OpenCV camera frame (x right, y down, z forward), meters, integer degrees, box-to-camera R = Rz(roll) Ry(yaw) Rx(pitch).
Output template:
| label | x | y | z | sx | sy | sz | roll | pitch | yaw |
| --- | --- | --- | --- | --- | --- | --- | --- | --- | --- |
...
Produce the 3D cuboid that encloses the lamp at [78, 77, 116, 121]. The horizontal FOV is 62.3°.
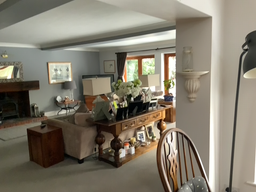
| label | x | y | z | sx | sy | sz | roll | pitch | yaw |
| --- | --- | --- | --- | --- | --- | --- | --- | --- | --- |
| lamp | -0.500 | 0.020 | 3.460 | 0.320 | 0.640 | 0.490 | 4 | 10 | 41 |
